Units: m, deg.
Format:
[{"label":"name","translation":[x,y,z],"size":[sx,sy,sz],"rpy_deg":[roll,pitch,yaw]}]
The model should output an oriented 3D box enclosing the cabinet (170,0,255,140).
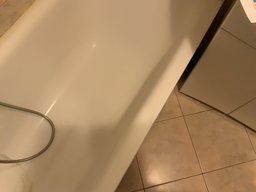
[{"label":"cabinet","translation":[0.620,-0.110,0.980],"size":[0.630,0.720,0.310],"rpy_deg":[31,73,9]}]
